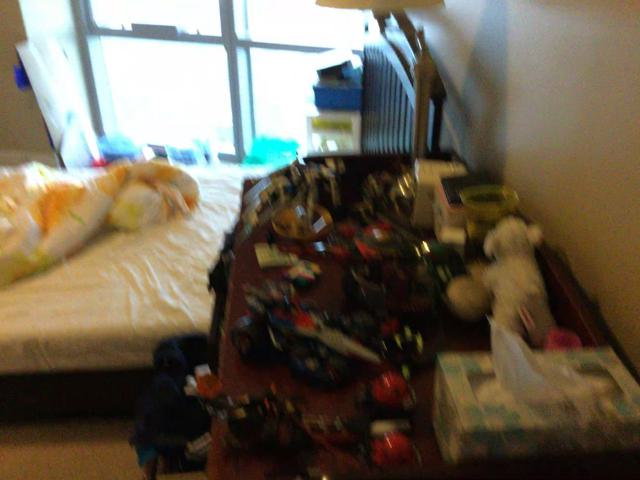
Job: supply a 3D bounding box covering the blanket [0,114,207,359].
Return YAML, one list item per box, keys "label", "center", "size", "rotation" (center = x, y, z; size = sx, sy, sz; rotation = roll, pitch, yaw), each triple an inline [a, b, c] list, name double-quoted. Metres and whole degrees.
- label: "blanket"
  center: [-1.060, -0.090, 2.090]
  size: [1.170, 0.400, 1.090]
  rotation: [0, 30, -5]

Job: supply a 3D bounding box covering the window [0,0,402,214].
- label: "window"
  center: [-0.680, -1.090, 3.510]
  size: [2.110, 1.190, 1.040]
  rotation: [11, 31, 14]

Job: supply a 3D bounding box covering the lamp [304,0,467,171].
- label: "lamp"
  center: [0.130, -0.470, 1.320]
  size: [0.300, 0.550, 0.290]
  rotation: [0, 30, -5]
